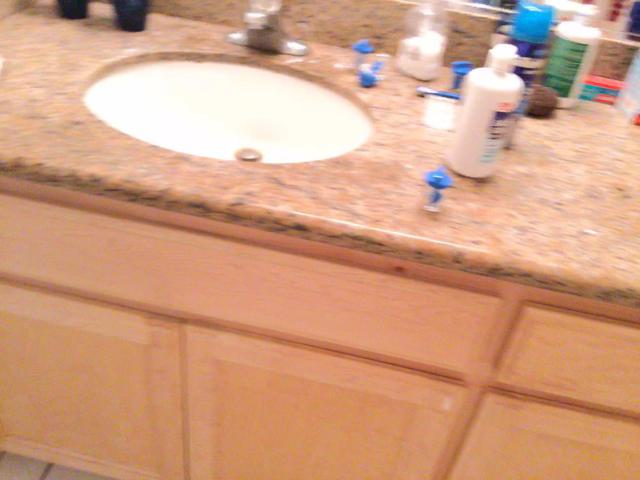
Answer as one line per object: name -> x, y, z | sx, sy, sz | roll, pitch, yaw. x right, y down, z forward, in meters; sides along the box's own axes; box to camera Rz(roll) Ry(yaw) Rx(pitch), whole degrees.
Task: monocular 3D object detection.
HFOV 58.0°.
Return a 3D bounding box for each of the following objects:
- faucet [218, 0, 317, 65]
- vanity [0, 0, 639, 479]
faucet -> -0.090, -0.400, 1.040 | 0.140, 0.100, 0.150 | 12, 35, 4
vanity -> 0.070, 0.080, 1.030 | 1.380, 0.890, 0.550 | 12, 35, 4
